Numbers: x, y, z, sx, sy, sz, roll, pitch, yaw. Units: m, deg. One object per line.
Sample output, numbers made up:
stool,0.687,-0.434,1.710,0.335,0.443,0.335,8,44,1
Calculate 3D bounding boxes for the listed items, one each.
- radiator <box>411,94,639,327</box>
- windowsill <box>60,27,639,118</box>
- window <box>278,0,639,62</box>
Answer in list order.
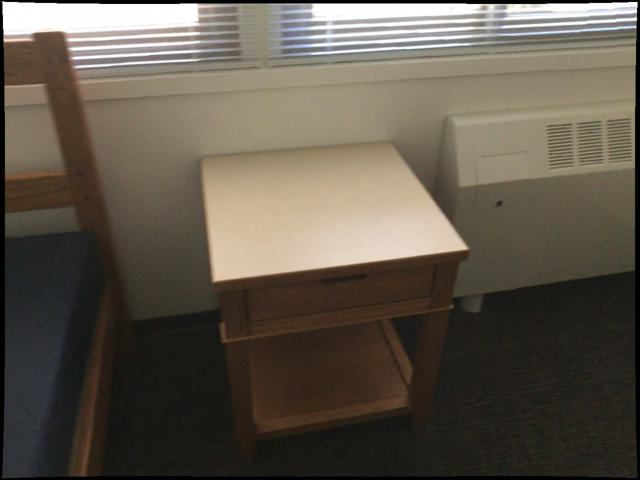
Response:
radiator,0.778,-0.090,1.760,0.908,0.661,0.170,-6,37,-11
windowsill,0.239,-0.451,1.500,1.686,0.140,0.080,-6,37,-11
window,0.479,-0.702,1.490,1.147,0.351,0.260,-6,37,-11
